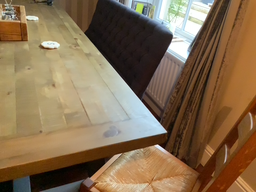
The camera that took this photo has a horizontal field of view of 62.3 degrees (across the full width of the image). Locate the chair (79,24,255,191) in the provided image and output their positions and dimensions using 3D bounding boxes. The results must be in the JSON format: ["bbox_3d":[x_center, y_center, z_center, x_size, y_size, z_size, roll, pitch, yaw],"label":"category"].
[{"bbox_3d":[0.130,0.300,0.900,0.480,1.020,0.440,26,35,24],"label":"chair"}]

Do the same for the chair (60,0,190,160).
[{"bbox_3d":[-0.220,-0.320,1.930,0.530,0.910,1.400,-6,35,-25],"label":"chair"}]
